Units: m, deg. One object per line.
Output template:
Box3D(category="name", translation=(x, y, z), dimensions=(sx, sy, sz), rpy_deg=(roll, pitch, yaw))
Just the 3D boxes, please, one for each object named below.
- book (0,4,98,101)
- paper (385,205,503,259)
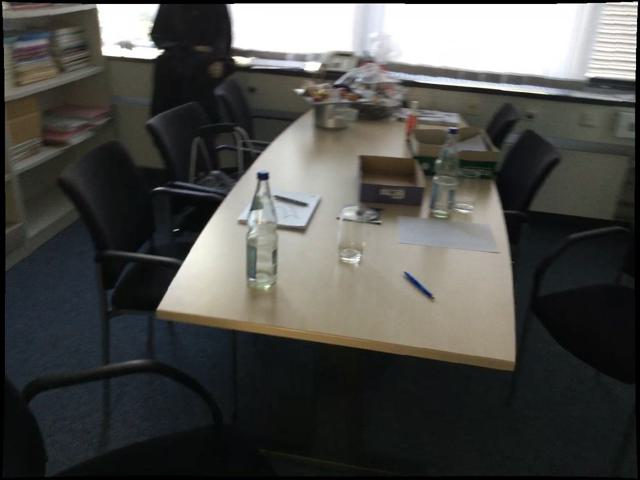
Box3D(category="book", translation=(-1.508, -0.971, 2.910), dimensions=(0.340, 0.320, 0.850), rpy_deg=(5, 27, 7))
Box3D(category="paper", translation=(0.370, -0.030, 1.760), dimensions=(0.330, 0.040, 0.230), rpy_deg=(5, 27, 7))
